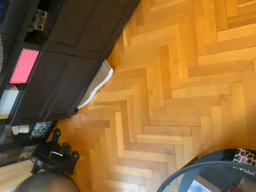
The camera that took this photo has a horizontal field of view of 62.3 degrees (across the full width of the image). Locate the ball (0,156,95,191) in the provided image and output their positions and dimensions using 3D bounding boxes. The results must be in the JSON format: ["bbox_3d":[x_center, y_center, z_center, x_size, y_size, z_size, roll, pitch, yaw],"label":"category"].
[{"bbox_3d":[-0.640,0.880,1.720,0.470,0.560,0.510,-32,74,30],"label":"ball"}]
